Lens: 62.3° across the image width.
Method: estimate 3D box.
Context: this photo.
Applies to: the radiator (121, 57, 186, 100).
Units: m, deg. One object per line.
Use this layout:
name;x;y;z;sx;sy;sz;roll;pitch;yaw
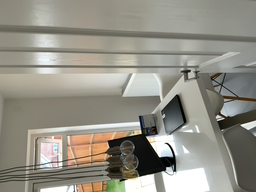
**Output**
radiator;0.290;-0.200;2.810;0.840;0.600;0.130;117;147;-59
